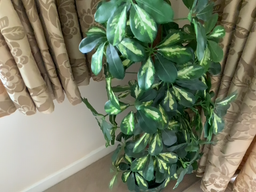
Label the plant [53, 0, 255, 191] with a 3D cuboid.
[{"bbox_3d":[0.080,0.030,0.860,0.440,1.140,0.470,-22,44,-20],"label":"plant"}]
